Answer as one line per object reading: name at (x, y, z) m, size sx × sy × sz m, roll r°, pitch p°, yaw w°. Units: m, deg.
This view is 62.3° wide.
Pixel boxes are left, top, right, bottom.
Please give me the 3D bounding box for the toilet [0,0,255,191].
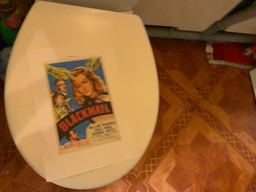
toilet at (-0.090, -0.120, 0.600) m, size 0.410 × 0.740 × 0.680 m, roll 1°, pitch 75°, yaw -16°
